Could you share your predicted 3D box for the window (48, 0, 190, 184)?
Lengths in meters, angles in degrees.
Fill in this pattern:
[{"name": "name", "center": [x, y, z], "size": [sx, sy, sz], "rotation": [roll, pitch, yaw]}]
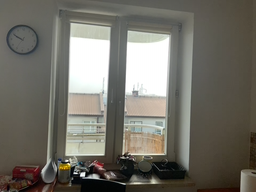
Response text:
[{"name": "window", "center": [-0.060, -0.030, 2.010], "size": [1.230, 1.550, 0.260], "rotation": [2, -1, -13]}]
